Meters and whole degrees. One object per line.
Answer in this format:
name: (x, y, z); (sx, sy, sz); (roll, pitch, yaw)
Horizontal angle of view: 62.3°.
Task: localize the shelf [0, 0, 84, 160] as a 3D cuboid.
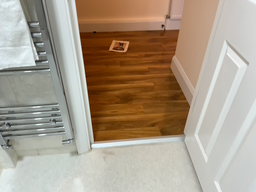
shelf: (-0.480, -0.110, 0.980); (0.400, 1.300, 0.030); (-3, 40, -6)
